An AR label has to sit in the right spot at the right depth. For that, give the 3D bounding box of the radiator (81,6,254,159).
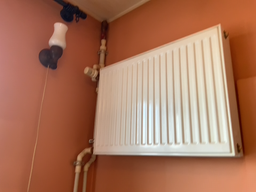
[{"bbox_3d":[0.100,0.010,1.010,0.790,0.530,0.150,-13,-23,41],"label":"radiator"}]
